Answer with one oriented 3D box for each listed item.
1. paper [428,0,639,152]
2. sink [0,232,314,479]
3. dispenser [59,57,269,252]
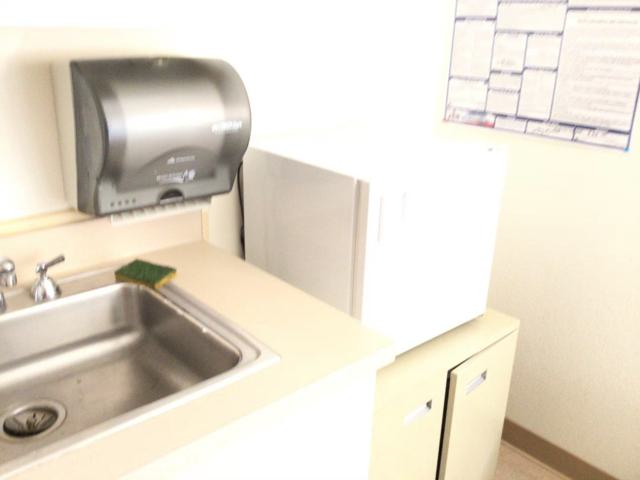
[{"bbox_3d":[0.610,-0.610,1.600,0.100,0.630,0.600,-11,23,-41],"label":"paper"},{"bbox_3d":[-0.440,0.220,0.980,0.630,0.250,0.560,-11,23,-41],"label":"sink"},{"bbox_3d":[-0.320,-0.190,1.200,0.330,0.330,0.240,-11,23,-41],"label":"dispenser"}]
